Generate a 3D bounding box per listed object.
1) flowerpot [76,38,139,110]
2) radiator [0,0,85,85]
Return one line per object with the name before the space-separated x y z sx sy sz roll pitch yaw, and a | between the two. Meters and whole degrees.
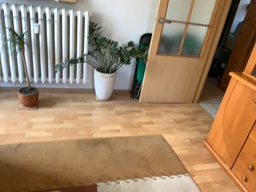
flowerpot | -0.310 -0.270 2.780 0.690 0.810 0.400 3 27 -16
radiator | -1.100 -0.590 2.470 1.100 0.880 0.190 1 28 -18
